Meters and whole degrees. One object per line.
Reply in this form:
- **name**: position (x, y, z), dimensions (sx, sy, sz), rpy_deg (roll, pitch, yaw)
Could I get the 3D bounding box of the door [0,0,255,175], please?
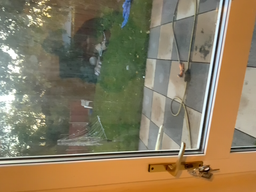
- **door**: position (0.210, -0.090, 0.730), dimensions (0.030, 1.940, 0.670), rpy_deg (-142, 55, -69)
